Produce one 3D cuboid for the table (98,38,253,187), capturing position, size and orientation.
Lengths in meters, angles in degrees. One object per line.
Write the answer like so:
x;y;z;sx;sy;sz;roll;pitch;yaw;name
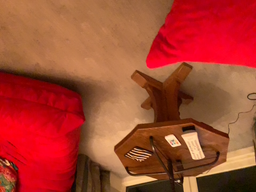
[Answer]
0.210;0.120;1.160;0.530;0.490;0.480;23;133;-21;table
